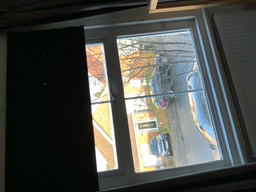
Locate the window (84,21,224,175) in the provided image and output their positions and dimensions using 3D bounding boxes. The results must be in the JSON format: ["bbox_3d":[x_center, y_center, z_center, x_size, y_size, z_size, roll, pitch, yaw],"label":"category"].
[{"bbox_3d":[0.170,-0.040,1.730,0.080,0.940,1.160,102,160,-75],"label":"window"}]

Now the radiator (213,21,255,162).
[{"bbox_3d":[1.040,-0.090,1.540,0.060,0.610,1.010,101,161,-74],"label":"radiator"}]
